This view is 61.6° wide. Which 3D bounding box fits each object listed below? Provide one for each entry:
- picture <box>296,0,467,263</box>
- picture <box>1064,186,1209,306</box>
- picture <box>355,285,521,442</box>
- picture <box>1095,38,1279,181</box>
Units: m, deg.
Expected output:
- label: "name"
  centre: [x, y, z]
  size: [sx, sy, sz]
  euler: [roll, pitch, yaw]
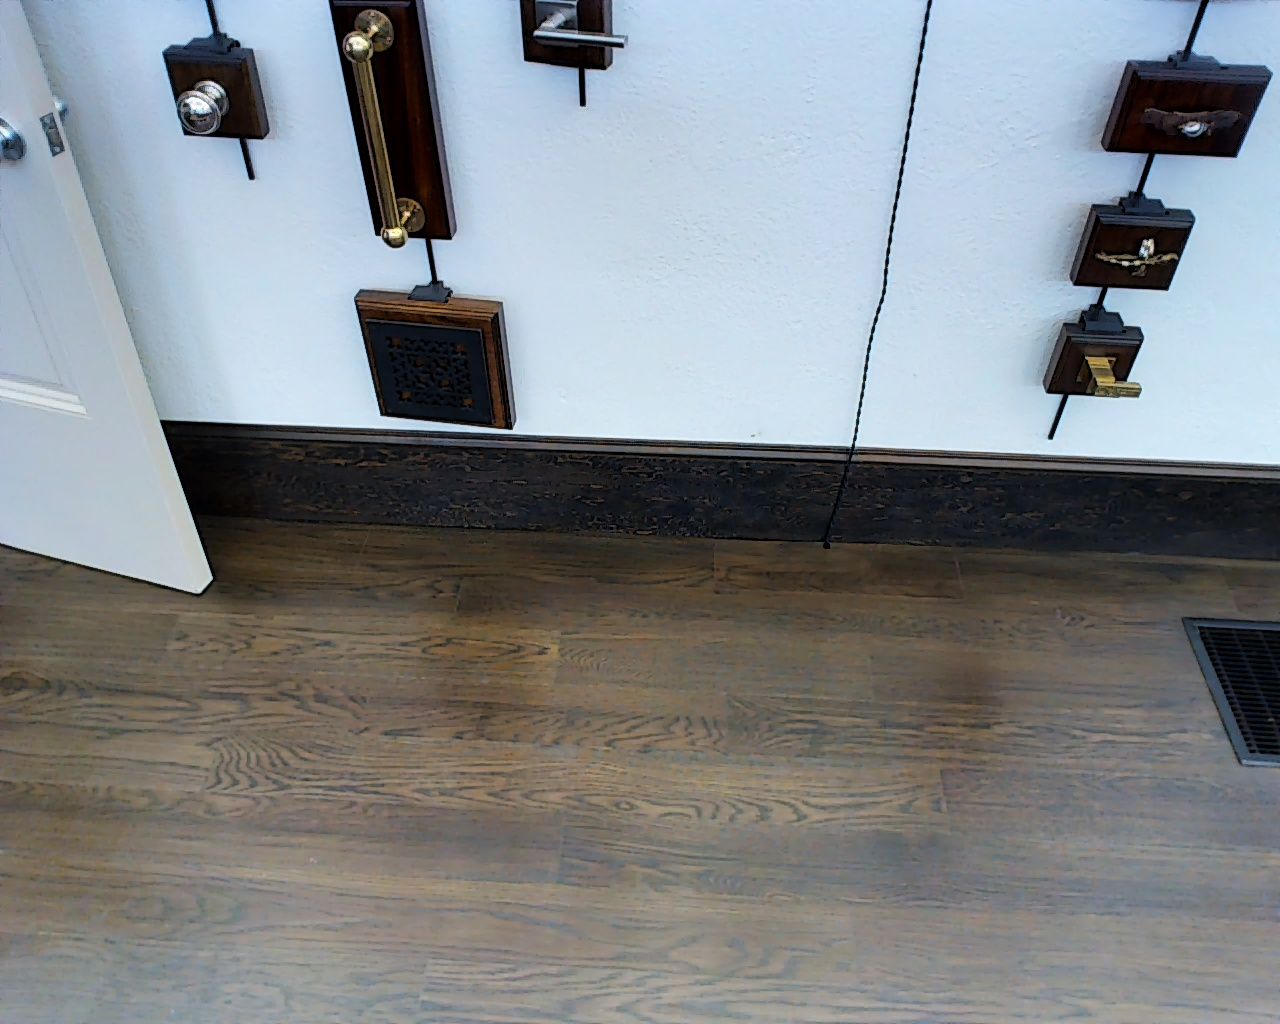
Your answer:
- label: "picture"
  centre: [-0.380, -0.590, 1.630]
  size: [0.180, 0.410, 0.100]
  euler: [3, 42, 2]
- label: "picture"
  centre: [0.780, -0.420, 1.700]
  size: [0.150, 0.150, 0.100]
  euler: [3, 42, 2]
- label: "picture"
  centre: [-0.350, -0.260, 1.910]
  size: [0.250, 0.260, 0.090]
  euler: [3, 42, 2]
- label: "picture"
  centre: [0.800, -0.580, 1.550]
  size: [0.210, 0.160, 0.100]
  euler: [3, 42, 2]
